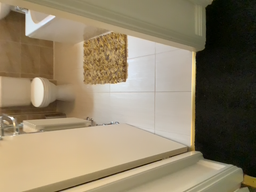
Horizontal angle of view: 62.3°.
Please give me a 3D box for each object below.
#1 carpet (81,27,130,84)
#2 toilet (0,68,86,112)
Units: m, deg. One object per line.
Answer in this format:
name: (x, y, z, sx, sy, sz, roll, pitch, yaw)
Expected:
carpet: (-0.270, -0.380, 2.200, 0.780, 0.050, 0.500, 4, 93, 48)
toilet: (-1.120, -0.070, 2.620, 0.690, 0.960, 0.430, 4, 93, 48)
